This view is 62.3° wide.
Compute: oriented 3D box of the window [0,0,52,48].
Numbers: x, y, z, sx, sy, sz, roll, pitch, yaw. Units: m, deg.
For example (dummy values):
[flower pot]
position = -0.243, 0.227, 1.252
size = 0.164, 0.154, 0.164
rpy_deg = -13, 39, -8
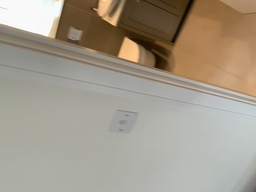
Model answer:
[window]
position = -1.340, -0.950, 2.330
size = 0.070, 0.860, 0.620
rpy_deg = 48, 121, 54
